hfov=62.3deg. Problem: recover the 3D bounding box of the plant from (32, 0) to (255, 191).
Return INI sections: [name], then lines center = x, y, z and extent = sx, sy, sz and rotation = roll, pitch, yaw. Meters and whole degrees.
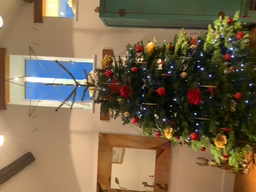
[plant]
center = 0.350, -0.070, 2.260
extent = 1.130, 2.220, 1.610
rotation = -57, -29, -82
